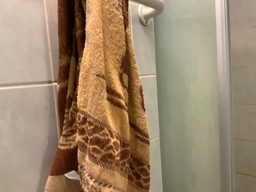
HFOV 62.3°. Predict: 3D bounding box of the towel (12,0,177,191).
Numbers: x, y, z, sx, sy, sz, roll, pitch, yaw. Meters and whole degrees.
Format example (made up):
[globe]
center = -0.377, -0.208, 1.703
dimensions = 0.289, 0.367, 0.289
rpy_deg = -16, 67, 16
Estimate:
[towel]
center = -0.040, 0.030, 0.390
dimensions = 0.160, 0.480, 0.220
rpy_deg = 1, 7, 38
